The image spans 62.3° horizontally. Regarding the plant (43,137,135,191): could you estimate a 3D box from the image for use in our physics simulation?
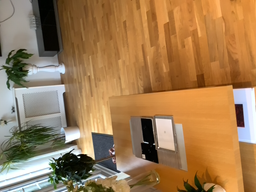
[{"bbox_3d":[-0.410,0.710,2.290,0.440,0.830,0.330,-10,88,56],"label":"plant"}]

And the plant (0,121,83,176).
[{"bbox_3d":[-1.480,0.820,3.610,0.490,1.220,0.570,-7,91,56],"label":"plant"}]
